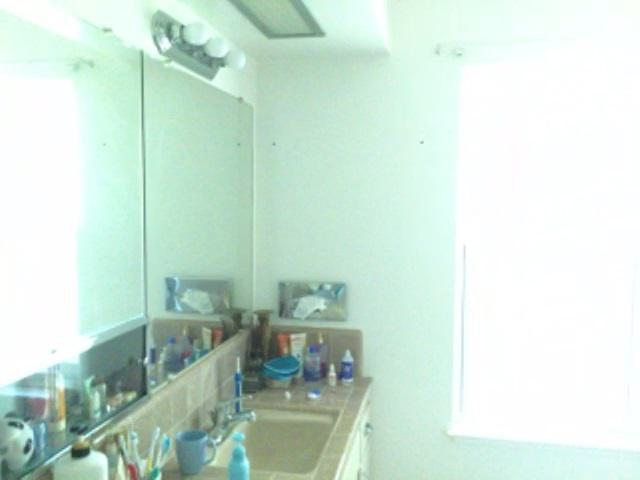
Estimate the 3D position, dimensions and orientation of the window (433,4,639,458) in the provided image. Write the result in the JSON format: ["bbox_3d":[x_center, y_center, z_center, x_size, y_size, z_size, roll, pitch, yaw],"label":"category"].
[{"bbox_3d":[0.860,-0.010,2.140,0.790,1.540,0.250,-2,3,15],"label":"window"}]

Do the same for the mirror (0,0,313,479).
[{"bbox_3d":[-0.560,0.030,1.120,0.310,1.350,2.690,-2,3,15],"label":"mirror"}]
